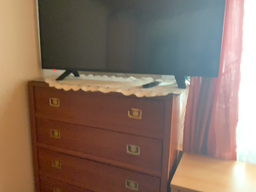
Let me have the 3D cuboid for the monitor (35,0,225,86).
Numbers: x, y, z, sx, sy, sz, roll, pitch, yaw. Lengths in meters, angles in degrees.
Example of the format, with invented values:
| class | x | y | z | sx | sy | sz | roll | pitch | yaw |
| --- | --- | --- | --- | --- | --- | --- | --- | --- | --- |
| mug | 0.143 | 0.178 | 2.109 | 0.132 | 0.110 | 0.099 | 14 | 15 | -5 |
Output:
| class | x | y | z | sx | sy | sz | roll | pitch | yaw |
| --- | --- | --- | --- | --- | --- | --- | --- | --- | --- |
| monitor | -0.040 | -0.440 | 1.260 | 1.110 | 0.700 | 0.090 | 4 | 13 | 15 |
